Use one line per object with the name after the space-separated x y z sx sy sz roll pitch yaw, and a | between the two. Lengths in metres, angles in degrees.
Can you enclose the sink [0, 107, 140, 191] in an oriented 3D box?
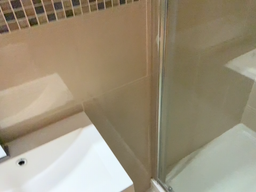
-0.320 0.300 0.610 0.620 0.140 0.350 -24 42 -23 | sink
